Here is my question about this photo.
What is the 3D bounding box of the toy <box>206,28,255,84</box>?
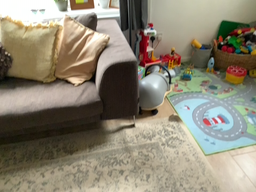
[{"bbox_3d":[1.240,-0.460,2.360,0.460,0.410,0.520,-6,35,-7],"label":"toy"}]
